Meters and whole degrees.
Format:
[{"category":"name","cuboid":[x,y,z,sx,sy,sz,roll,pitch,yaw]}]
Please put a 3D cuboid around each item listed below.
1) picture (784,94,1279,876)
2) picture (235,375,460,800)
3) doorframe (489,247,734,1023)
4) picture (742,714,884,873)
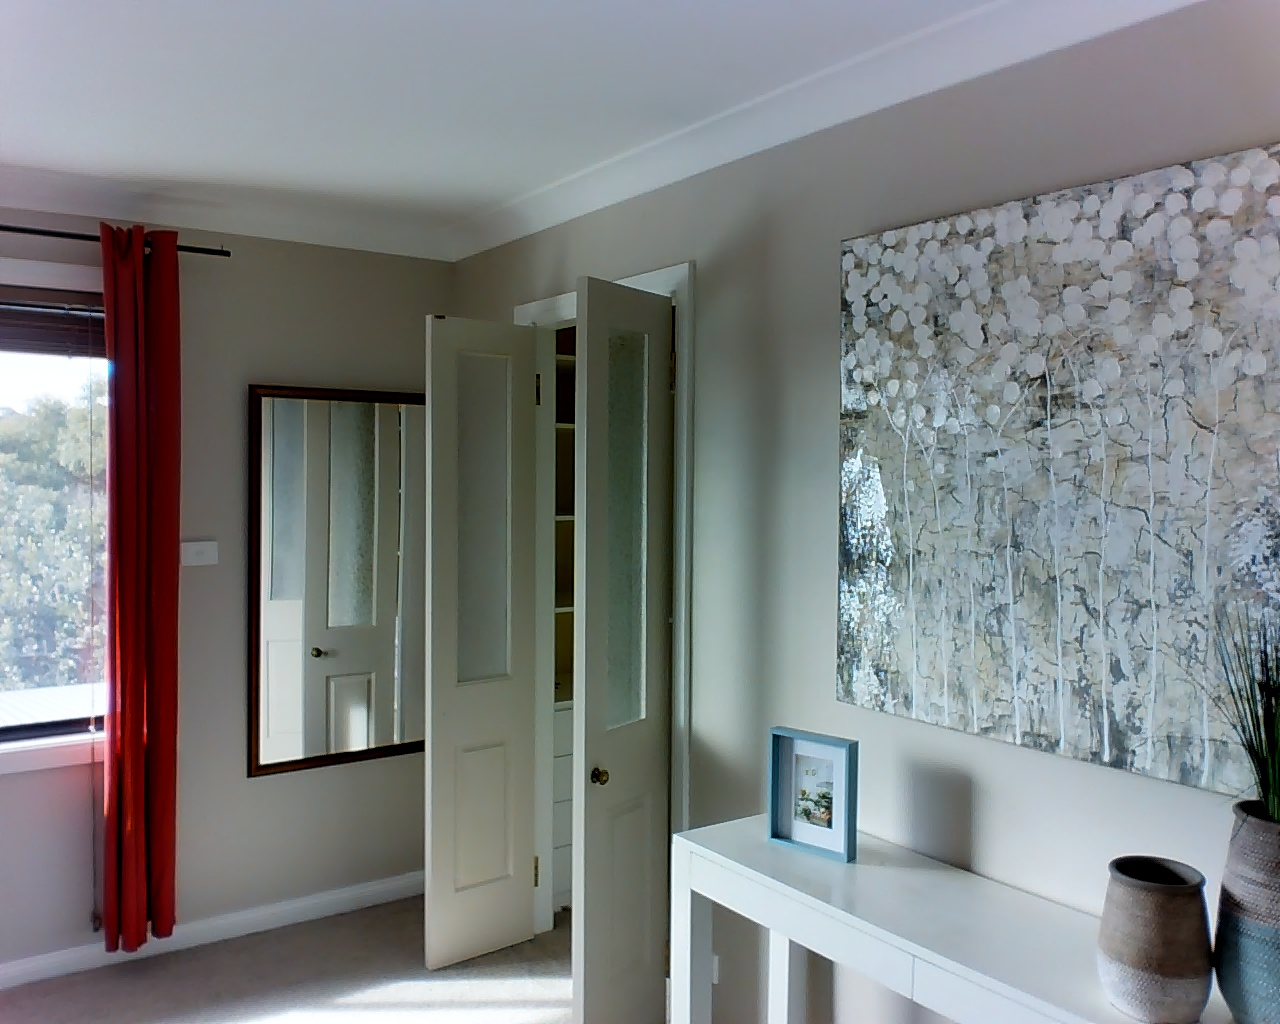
[{"category":"picture","cuboid":[0.700,-0.050,1.900,0.170,1.090,1.070,-1,2,-36]},{"category":"picture","cuboid":[-0.990,0.240,3.680,0.750,1.360,0.120,-1,2,-36]},{"category":"doorframe","cuboid":[-0.130,0.360,3.210,0.180,2.101,1.000,-1,2,-36]},{"category":"picture","cuboid":[0.360,0.580,2.240,0.180,0.250,0.230,-1,2,-36]}]
